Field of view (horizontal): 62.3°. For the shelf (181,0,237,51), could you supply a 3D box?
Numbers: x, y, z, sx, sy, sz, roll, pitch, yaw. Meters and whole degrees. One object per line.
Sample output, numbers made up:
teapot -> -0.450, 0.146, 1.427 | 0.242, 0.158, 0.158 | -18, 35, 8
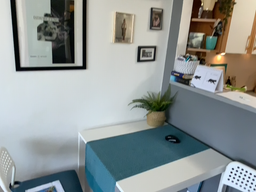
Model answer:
shelf -> 0.680, -0.760, 1.740 | 0.190, 0.730, 0.330 | -4, 19, -30
